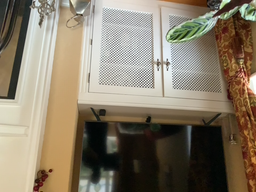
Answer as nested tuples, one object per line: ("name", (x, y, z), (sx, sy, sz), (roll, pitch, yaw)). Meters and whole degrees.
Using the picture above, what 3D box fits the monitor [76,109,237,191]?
("monitor", (0.230, 0.480, 1.630), (1.180, 0.720, 0.060), (3, 162, -5))
